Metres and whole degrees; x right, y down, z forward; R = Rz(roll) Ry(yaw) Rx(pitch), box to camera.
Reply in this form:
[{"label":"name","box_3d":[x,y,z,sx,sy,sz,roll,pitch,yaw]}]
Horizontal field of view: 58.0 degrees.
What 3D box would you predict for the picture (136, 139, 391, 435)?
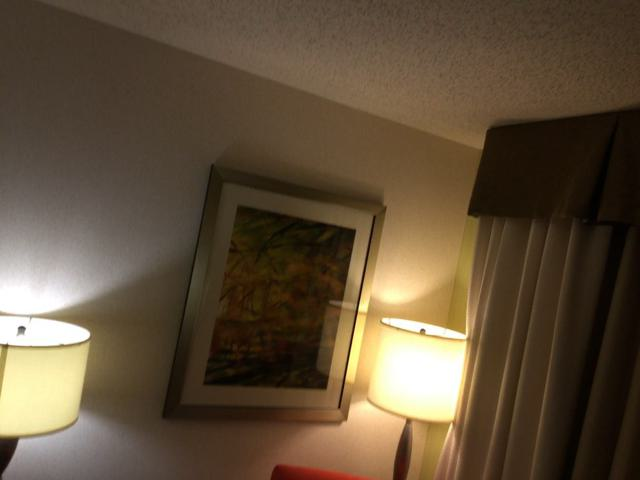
[{"label":"picture","box_3d":[-0.170,0.220,2.200,0.820,0.980,0.110,15,-5,-33]}]
